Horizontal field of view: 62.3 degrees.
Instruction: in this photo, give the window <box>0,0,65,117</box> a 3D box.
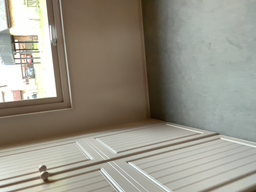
[{"bbox_3d":[-1.050,-0.380,1.530,0.270,1.010,1.060,5,101,64],"label":"window"}]
